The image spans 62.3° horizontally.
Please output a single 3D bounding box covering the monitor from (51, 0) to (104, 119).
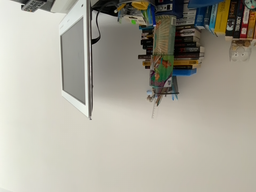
[{"bbox_3d":[-0.230,-0.190,0.860,0.080,0.440,0.560,-3,-170,-26],"label":"monitor"}]
